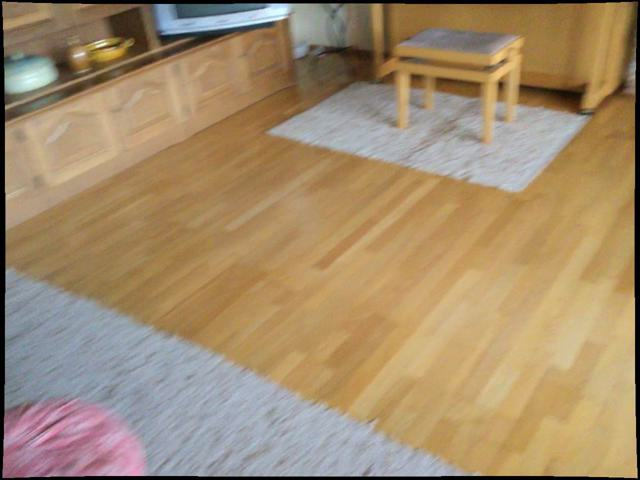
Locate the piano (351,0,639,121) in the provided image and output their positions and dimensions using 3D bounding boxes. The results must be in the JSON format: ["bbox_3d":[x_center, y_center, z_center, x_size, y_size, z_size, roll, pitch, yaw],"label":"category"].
[{"bbox_3d":[0.989,-1.471,3.340,1.539,1.111,0.630,21,43,32],"label":"piano"}]
